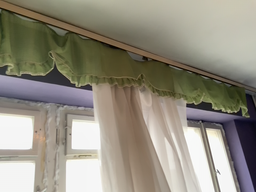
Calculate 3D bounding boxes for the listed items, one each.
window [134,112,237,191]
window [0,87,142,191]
[{"bbox_3d":[0.690,0.860,2.230,1.320,1.190,0.250,14,-29,-40],"label":"window"},{"bbox_3d":[-0.570,0.580,1.200,1.480,1.240,0.190,9,-26,-33],"label":"window"}]
